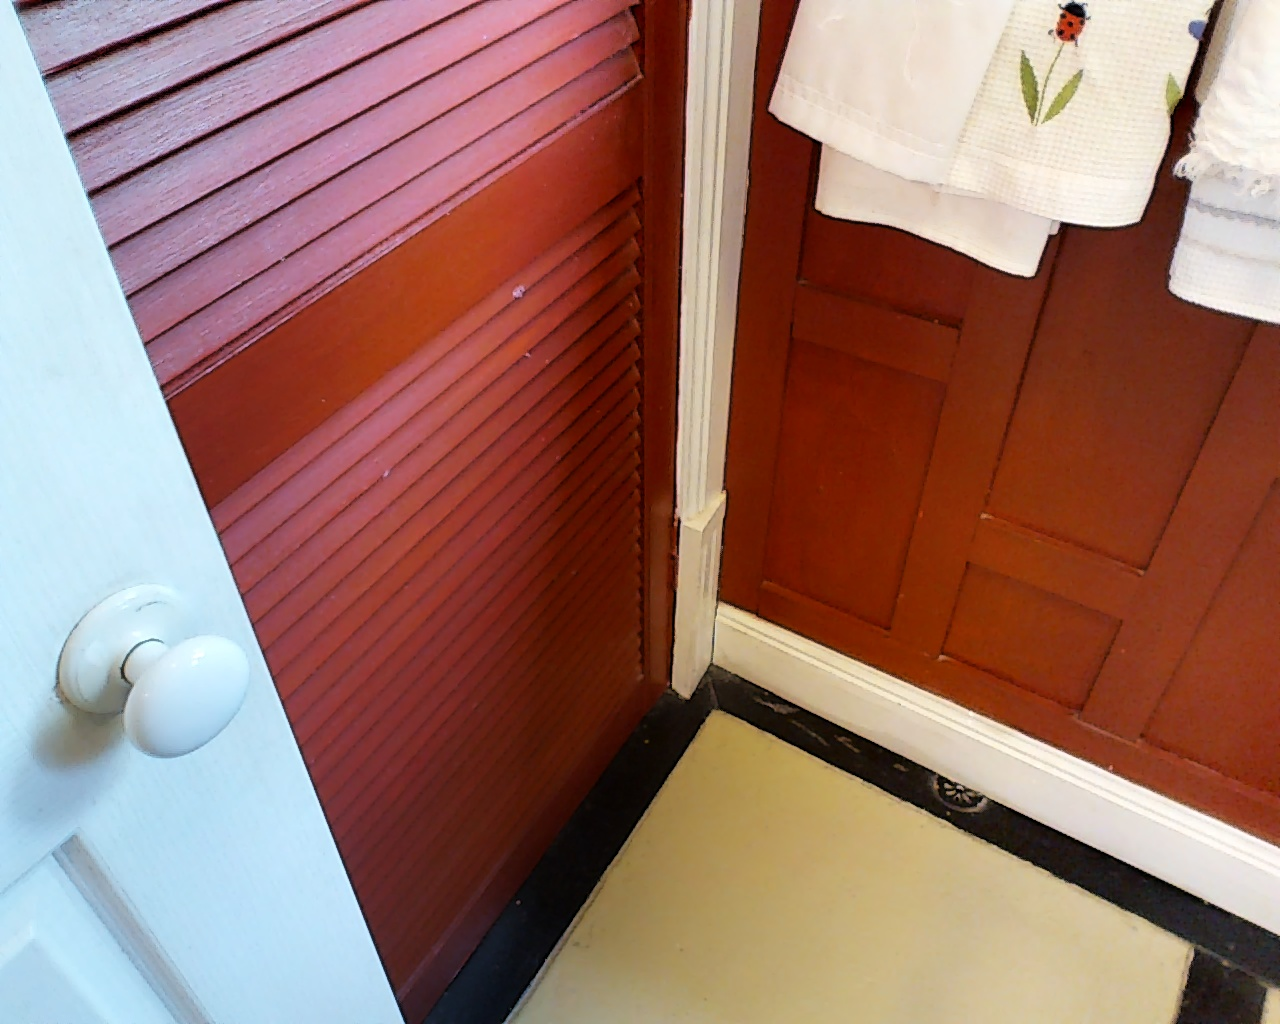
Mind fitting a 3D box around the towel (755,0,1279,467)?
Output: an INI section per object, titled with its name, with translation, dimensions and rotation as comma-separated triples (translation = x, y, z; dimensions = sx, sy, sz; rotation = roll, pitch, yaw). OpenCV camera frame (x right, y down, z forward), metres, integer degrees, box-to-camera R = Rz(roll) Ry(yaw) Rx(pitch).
[towel]
translation = 0.410, -0.290, 0.780
dimensions = 0.620, 0.430, 0.170
rotation = 22, 48, 24
